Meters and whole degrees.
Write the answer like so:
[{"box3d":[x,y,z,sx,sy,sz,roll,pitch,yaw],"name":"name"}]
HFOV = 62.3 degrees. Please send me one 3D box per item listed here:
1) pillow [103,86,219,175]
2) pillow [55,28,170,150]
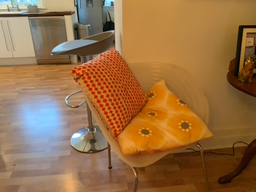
[{"box3d":[0.130,0.150,1.180,0.470,0.500,0.210,-112,19,-63],"name":"pillow"},{"box3d":[-0.050,-0.030,1.180,0.180,0.480,0.460,-25,33,51],"name":"pillow"}]
